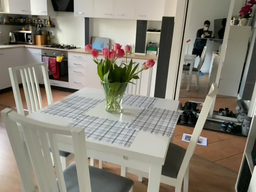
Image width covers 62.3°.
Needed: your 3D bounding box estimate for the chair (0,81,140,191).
[{"bbox_3d":[-0.260,0.480,1.100,0.420,0.980,0.530,11,19,19],"label":"chair"}]
